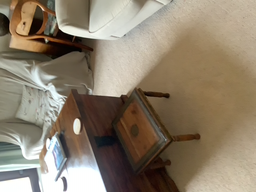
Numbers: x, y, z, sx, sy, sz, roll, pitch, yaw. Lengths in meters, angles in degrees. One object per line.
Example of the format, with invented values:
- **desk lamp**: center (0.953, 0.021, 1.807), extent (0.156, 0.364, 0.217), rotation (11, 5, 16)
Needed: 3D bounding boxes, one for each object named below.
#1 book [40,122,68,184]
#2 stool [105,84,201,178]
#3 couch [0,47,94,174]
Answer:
- **book**: center (-0.570, 0.430, 1.600), extent (0.270, 0.040, 0.380), rotation (54, 126, 38)
- **stool**: center (0.130, 0.210, 1.330), extent (0.370, 0.290, 0.400), rotation (-56, 48, 30)
- **couch**: center (-1.120, 0.090, 2.460), extent (1.050, 0.850, 1.040), rotation (28, 108, 48)
